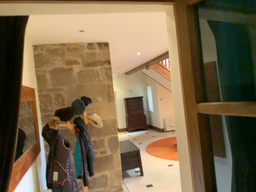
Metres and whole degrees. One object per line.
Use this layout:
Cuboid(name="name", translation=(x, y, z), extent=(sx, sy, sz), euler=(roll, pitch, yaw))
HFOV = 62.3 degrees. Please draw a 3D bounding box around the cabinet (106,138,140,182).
Cuboid(name="cabinet", translation=(-0.150, 1.470, 5.050), extent=(0.500, 0.640, 1.070), euler=(-6, 2, -15))
